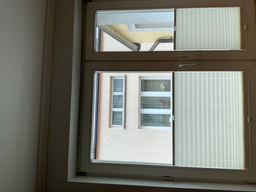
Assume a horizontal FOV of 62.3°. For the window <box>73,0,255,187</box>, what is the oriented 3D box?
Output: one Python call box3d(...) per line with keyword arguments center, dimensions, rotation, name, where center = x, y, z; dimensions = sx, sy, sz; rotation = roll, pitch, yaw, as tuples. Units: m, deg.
box3d(center=(0.320, -0.110, 1.680), dimensions=(0.170, 1.440, 1.510), rotation=(34, -124, -84), name="window")
